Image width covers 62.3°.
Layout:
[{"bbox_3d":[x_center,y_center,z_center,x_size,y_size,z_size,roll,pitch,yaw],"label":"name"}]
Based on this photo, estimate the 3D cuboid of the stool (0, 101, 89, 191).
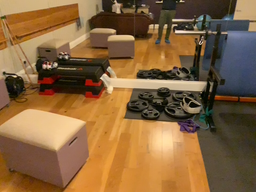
[{"bbox_3d":[-0.780,0.430,1.910,0.700,0.540,0.410,10,28,19],"label":"stool"}]
